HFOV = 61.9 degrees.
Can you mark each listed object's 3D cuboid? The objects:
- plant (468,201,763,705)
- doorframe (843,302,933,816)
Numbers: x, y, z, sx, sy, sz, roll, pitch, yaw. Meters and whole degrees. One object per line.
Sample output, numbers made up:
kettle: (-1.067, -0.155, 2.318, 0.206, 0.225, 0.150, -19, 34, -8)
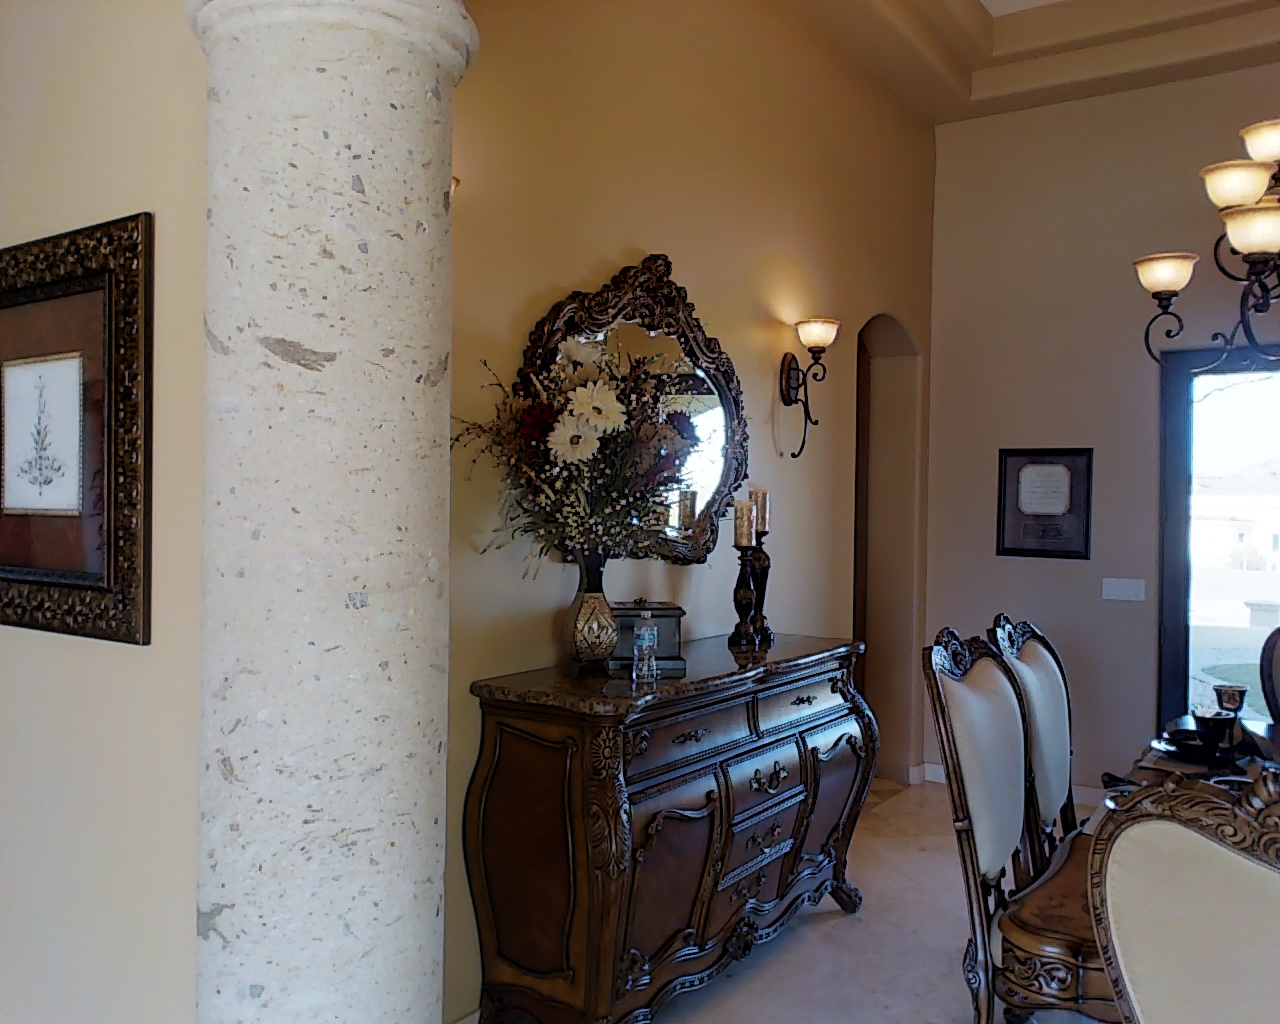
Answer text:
plant: (-0.060, -0.150, 3.090, 0.600, 1.260, 0.610, 1, 0, 34)
doorframe: (1.330, 0.230, 5.650, 0.090, 2.510, 1.010, 1, 0, 34)
